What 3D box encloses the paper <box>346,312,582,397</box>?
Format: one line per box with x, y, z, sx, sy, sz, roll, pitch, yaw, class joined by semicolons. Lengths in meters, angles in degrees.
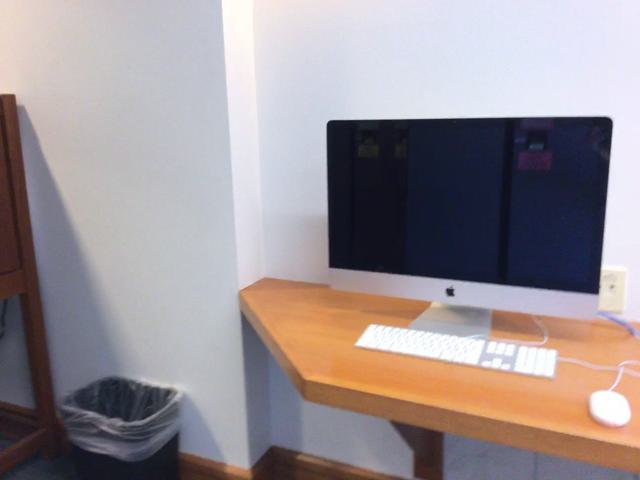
0.310;0.240;1.270;0.480;0.040;0.160;7;13;24;paper

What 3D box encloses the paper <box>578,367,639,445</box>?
0.520;0.290;1.020;0.110;0.060;0.140;7;13;24;paper
